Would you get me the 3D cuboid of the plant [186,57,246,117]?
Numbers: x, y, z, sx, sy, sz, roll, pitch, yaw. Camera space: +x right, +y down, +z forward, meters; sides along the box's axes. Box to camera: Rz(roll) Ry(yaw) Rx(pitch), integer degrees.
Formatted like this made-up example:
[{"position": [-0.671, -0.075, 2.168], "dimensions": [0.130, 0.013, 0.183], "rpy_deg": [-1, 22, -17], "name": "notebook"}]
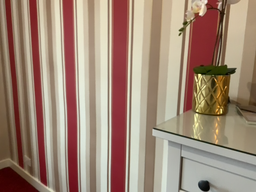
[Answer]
[{"position": [0.350, -0.050, 0.840], "dimensions": [0.150, 0.200, 0.200], "rpy_deg": [11, 15, 38], "name": "plant"}]
